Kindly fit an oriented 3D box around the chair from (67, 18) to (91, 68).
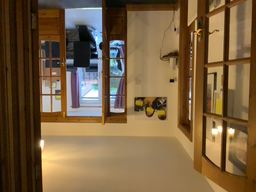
[{"bbox_3d":[-1.160,-1.220,5.040,0.420,1.040,0.530,-2,-175,-27],"label":"chair"}]
